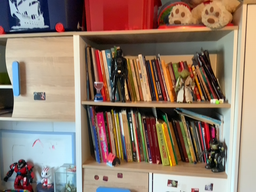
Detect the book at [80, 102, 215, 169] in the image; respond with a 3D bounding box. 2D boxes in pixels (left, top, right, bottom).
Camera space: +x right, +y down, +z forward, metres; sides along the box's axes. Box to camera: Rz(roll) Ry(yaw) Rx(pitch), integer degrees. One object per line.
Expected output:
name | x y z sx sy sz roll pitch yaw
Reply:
book | 0.110 0.210 1.310 0.730 0.300 0.310 1 5 10
